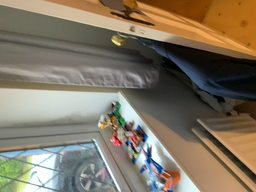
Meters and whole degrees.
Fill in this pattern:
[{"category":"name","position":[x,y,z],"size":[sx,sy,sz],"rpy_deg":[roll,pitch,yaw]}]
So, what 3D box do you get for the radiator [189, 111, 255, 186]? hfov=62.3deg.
[{"category":"radiator","position":[0.780,0.370,0.980],"size":[0.910,0.550,0.060],"rpy_deg":[49,128,45]}]
